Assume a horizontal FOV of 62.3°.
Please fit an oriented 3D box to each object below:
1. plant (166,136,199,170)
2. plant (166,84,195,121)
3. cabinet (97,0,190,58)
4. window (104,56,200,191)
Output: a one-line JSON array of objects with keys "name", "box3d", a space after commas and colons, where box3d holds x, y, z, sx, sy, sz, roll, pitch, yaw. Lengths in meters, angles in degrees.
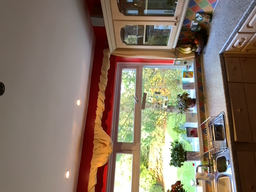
[{"name": "plant", "box3d": [0.650, 0.700, 2.580, 0.260, 0.320, 0.330, 88, -175, -61]}, {"name": "plant", "box3d": [0.690, 0.090, 2.840, 0.280, 0.300, 0.420, 87, -174, -66]}, {"name": "cabinet", "box3d": [0.160, -0.910, 2.410, 1.170, 0.870, 0.340, 87, -174, -68]}, {"name": "window", "box3d": [0.270, 1.060, 2.460, 0.080, 1.090, 3.540, 87, -174, -66]}]
